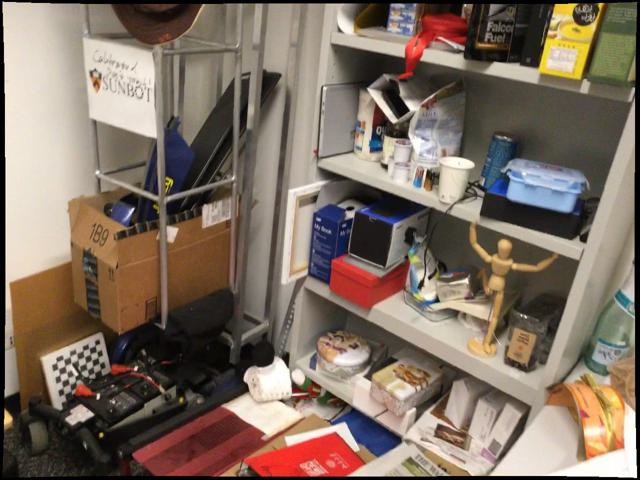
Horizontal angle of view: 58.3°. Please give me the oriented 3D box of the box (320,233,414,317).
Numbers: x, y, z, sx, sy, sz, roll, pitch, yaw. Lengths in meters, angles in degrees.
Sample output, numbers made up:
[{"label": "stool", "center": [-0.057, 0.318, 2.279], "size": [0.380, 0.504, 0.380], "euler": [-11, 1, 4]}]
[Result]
[{"label": "box", "center": [0.130, 0.090, 1.580], "size": [0.170, 0.120, 0.180], "euler": [26, 32, 32]}]

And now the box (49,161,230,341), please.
[{"label": "box", "center": [-0.539, 0.010, 1.760], "size": [0.310, 0.360, 0.400], "euler": [26, 32, 32]}]
